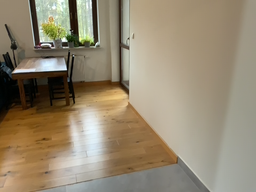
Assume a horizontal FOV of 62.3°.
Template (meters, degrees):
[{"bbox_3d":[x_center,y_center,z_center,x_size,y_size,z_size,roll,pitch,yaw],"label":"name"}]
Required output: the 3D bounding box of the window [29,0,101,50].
[{"bbox_3d":[-1.370,-1.830,4.730,1.420,1.480,0.510,-4,20,-14],"label":"window"}]
